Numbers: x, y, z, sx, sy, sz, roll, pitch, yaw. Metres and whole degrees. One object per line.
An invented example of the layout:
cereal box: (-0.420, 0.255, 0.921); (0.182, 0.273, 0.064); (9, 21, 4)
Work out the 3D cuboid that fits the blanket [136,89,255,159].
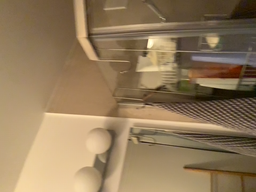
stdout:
blanket: (0.540, 0.090, 0.710); (0.260, 0.990, 0.190); (-8, -80, -73)
